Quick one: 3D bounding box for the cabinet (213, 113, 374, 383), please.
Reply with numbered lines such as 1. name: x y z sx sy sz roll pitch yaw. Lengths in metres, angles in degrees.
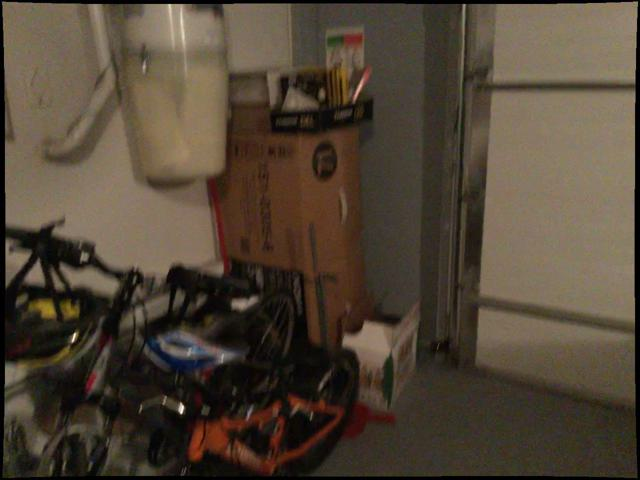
1. cabinet: -0.130 0.000 2.740 0.570 1.121 0.440 12 19 30
